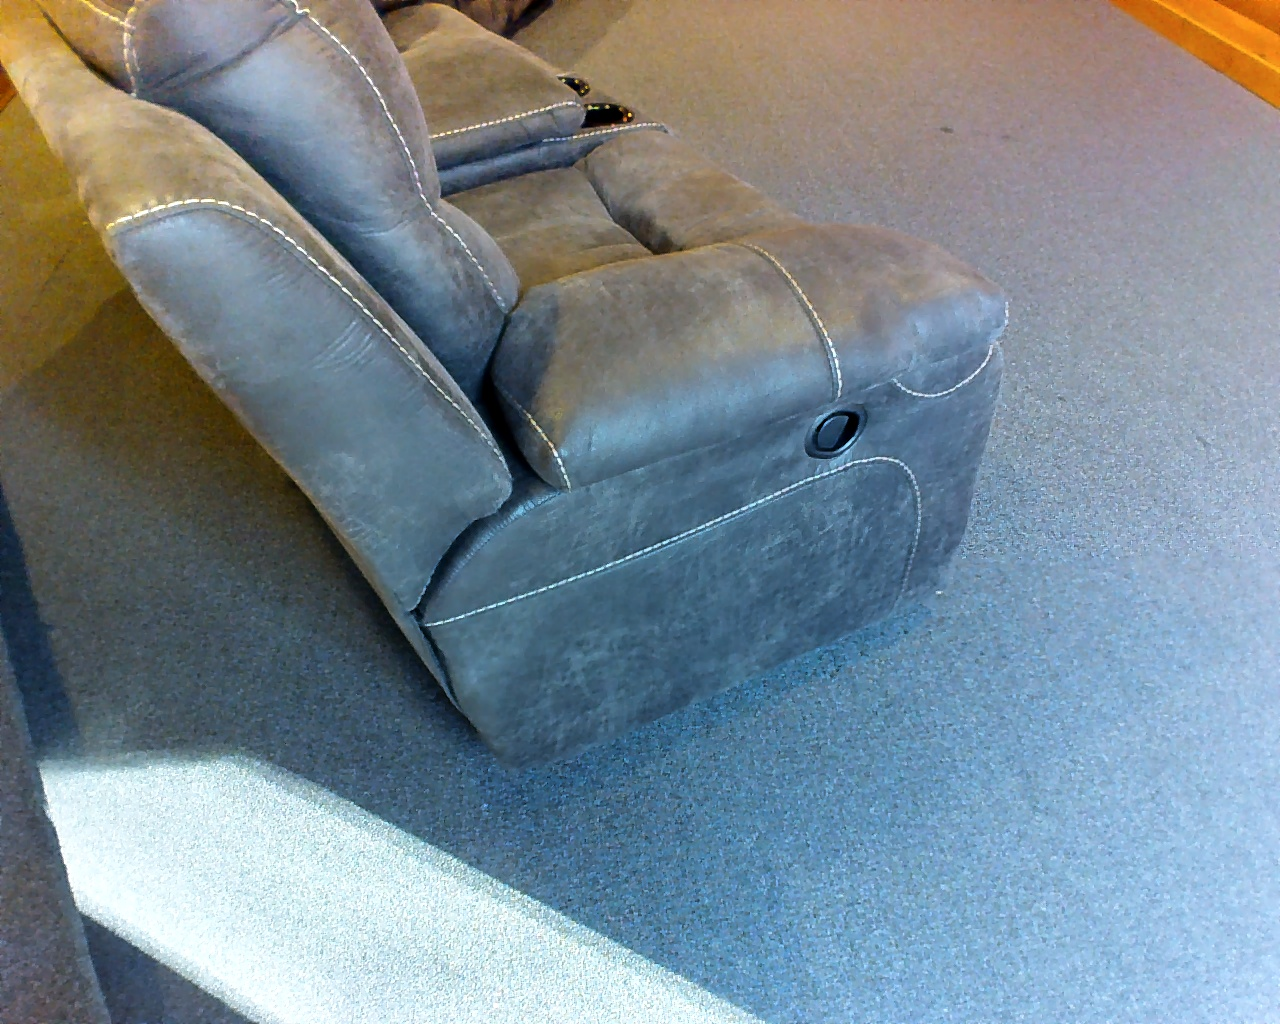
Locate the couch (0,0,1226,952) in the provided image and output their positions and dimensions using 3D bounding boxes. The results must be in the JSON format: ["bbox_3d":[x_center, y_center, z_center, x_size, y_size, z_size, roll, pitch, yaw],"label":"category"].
[{"bbox_3d":[-0.420,-0.650,1.740,1.090,0.990,2.060,-23,47,-23],"label":"couch"}]

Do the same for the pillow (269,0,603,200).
[{"bbox_3d":[-0.340,-0.700,1.780,0.410,0.150,0.400,-20,43,-23],"label":"pillow"}]
